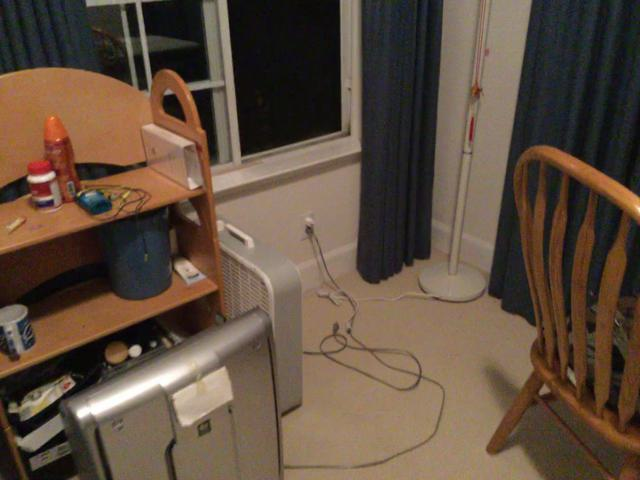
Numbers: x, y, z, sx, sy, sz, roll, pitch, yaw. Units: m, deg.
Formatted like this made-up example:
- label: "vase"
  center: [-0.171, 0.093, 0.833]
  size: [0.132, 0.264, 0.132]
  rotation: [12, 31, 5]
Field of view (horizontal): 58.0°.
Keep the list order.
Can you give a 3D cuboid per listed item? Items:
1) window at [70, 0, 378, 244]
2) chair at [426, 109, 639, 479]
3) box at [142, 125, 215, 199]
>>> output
- label: "window"
  center: [-0.260, -0.570, 2.040]
  size: [1.030, 0.890, 0.250]
  rotation: [-18, 28, -34]
- label: "chair"
  center: [0.690, 0.240, 1.290]
  size: [0.640, 0.910, 0.590]
  rotation: [-11, 25, -21]
- label: "box"
  center: [-0.390, -0.220, 1.580]
  size: [0.060, 0.140, 0.290]
  rotation: [-18, 28, -34]
